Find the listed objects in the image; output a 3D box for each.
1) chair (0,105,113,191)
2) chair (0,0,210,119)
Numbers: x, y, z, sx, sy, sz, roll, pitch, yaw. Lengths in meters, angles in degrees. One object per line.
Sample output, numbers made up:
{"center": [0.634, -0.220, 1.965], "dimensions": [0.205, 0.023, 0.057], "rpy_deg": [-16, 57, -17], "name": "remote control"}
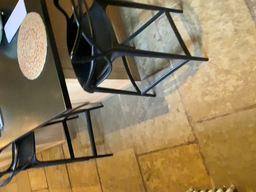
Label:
{"center": [-0.710, 0.410, 1.780], "dimensions": [0.510, 1.010, 0.490], "rpy_deg": [-20, 80, 40], "name": "chair"}
{"center": [-0.080, -0.270, 1.190], "dimensions": [0.550, 1.000, 0.510], "rpy_deg": [-31, 73, 38], "name": "chair"}
